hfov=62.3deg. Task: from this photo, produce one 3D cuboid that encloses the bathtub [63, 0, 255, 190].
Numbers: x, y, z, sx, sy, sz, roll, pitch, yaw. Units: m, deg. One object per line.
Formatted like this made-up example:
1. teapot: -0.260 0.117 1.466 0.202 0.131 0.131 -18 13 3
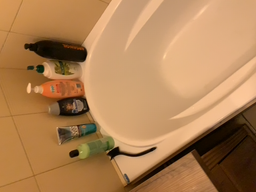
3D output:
1. bathtub: 0.410 -0.290 0.910 1.370 0.570 0.670 -45 66 30
